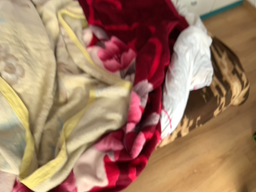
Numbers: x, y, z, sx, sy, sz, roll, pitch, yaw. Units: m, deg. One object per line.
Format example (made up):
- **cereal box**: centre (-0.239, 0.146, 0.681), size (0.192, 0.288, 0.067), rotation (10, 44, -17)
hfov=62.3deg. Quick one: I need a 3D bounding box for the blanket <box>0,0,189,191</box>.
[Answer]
- **blanket**: centre (-0.480, -0.220, 1.010), size (0.980, 0.300, 1.140), rotation (-23, 64, -15)
